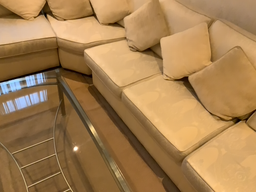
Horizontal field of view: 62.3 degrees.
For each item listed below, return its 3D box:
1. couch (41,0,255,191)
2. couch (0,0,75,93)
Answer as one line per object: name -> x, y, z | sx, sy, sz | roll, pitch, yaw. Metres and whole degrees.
couch -> 0.250, -0.330, 1.870 | 0.940, 0.870, 3.040 | -23, 52, -29
couch -> -1.350, -0.610, 1.900 | 1.420, 0.840, 0.880 | -23, 52, -29
